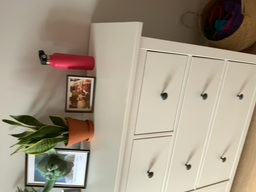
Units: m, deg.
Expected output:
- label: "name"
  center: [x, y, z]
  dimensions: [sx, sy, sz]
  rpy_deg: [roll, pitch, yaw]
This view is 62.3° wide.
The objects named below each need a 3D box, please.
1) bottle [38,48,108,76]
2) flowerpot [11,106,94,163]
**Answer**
- label: "bottle"
  center: [-0.280, -0.170, 1.090]
  dimensions: [0.120, 0.320, 0.100]
  rpy_deg: [33, 119, 57]
- label: "flowerpot"
  center: [-0.390, 0.170, 1.070]
  dimensions: [0.260, 0.350, 0.150]
  rpy_deg: [36, 121, 56]
